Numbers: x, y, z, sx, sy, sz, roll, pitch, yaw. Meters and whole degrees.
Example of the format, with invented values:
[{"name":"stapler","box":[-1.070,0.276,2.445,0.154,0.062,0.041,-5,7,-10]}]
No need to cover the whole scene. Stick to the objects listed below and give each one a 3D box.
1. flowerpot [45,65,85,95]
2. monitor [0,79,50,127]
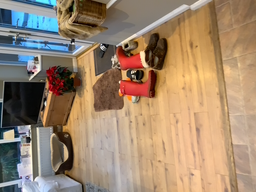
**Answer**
[{"name":"flowerpot","box":[-1.070,-0.260,3.590,0.360,0.550,0.450,-5,87,54]},{"name":"monitor","box":[-1.870,0.150,3.790,0.080,0.710,1.080,58,134,36]}]
